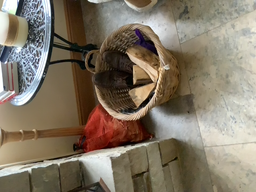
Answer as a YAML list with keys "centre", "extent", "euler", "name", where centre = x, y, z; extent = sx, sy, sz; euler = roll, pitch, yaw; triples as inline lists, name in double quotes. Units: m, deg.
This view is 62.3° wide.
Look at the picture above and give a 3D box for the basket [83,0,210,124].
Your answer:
- centre: [0.090, -0.140, 1.260]
  extent: [0.560, 0.390, 0.520]
  euler: [-14, 79, 40]
  name: "basket"
